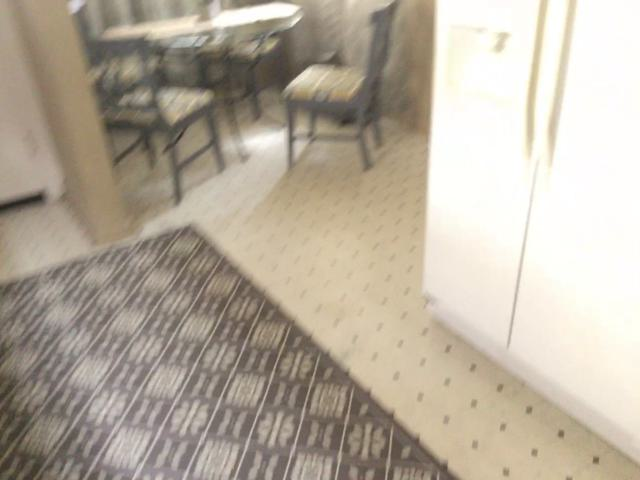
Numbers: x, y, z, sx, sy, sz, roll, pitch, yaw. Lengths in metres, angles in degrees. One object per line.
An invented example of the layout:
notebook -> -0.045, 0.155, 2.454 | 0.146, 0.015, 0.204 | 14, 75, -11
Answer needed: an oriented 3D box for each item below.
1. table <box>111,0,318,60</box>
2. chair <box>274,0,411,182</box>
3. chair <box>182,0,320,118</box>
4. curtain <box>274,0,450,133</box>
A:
table -> -0.590, -1.250, 3.360 | 1.100, 0.160, 0.420 | -19, 34, -27
chair -> 0.150, -0.850, 3.160 | 0.590, 0.840, 0.610 | 5, 31, 12
chair -> -0.450, -1.410, 4.060 | 0.650, 0.850, 0.720 | 10, 32, 19
curtain -> 0.180, -1.890, 3.500 | 0.330, 2.110, 1.460 | -19, 34, -27
